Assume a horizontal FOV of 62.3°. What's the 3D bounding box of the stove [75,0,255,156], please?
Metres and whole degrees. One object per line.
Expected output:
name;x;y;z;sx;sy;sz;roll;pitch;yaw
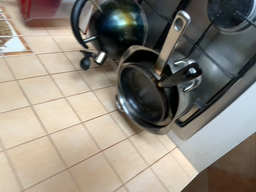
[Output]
stove;0.090;-0.220;0.590;0.600;0.030;0.560;51;132;21
